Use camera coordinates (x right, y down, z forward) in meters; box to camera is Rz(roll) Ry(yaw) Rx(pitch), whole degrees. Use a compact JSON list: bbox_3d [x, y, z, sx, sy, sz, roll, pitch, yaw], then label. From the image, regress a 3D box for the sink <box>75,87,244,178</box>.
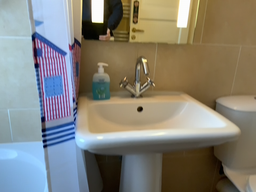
[{"bbox_3d":[0.070,0.100,0.880,0.540,0.150,0.460,-1,19,-11],"label":"sink"}]
